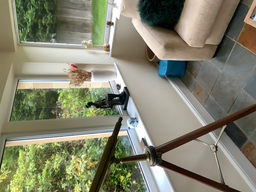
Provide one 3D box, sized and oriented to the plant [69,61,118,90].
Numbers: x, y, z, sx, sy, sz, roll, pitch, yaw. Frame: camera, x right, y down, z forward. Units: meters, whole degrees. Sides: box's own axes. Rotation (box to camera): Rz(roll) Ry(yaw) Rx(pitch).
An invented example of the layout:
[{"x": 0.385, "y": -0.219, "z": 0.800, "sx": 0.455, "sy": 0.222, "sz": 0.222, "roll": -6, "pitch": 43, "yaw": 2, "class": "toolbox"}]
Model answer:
[{"x": -0.460, "y": -0.270, "z": 2.810, "sx": 0.230, "sy": 0.590, "sz": 0.300, "roll": -116, "pitch": 31, "yaw": -50, "class": "plant"}]
